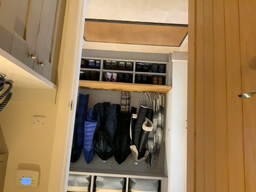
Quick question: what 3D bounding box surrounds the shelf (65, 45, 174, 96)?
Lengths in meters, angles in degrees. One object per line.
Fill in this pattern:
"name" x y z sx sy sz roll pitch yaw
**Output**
"shelf" -0.110 -0.360 3.180 1.470 0.540 0.510 4 171 0
